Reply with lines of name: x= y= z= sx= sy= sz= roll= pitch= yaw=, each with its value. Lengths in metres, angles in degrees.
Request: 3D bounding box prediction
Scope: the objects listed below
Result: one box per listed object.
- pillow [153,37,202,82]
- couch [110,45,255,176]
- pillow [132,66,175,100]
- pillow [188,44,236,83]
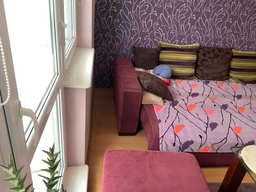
pillow: x=0.680 y=-0.500 z=2.950 sx=0.480 sy=0.470 sz=0.170 roll=15 pitch=24 yaw=-20
couch: x=1.100 y=0.030 z=2.630 sx=2.490 sy=0.780 sz=1.530 roll=1 pitch=29 yaw=-11
pillow: x=0.280 y=-0.160 z=2.480 sx=0.370 sy=0.230 sz=0.410 roll=0 pitch=29 yaw=-11
pillow: x=1.190 y=-0.460 z=3.040 sx=0.460 sy=0.480 sz=0.270 roll=0 pitch=29 yaw=-12
